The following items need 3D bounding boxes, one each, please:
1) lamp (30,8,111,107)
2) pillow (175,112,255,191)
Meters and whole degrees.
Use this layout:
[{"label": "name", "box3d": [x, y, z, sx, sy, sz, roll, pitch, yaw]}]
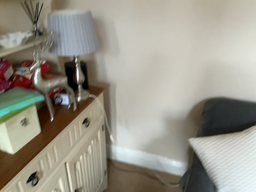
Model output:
[{"label": "lamp", "box3d": [-0.280, -0.220, 1.150, 0.280, 0.270, 0.440, -53, 148, -57]}, {"label": "pillow", "box3d": [0.590, 0.360, 1.130, 0.490, 0.430, 0.210, 32, 41, -33]}]
